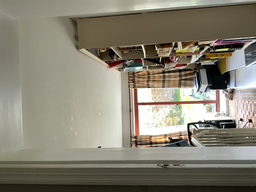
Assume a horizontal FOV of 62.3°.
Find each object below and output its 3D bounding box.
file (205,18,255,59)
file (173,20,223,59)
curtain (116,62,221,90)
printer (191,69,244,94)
[{"bbox_3d":[1.170,-0.620,2.440,0.910,0.320,0.220,0,-91,-84],"label":"file"},{"bbox_3d":[0.770,-0.620,2.470,0.780,0.390,0.230,5,-97,-84],"label":"file"},{"bbox_3d":[0.870,-0.430,4.790,0.380,2.240,0.510,-18,-74,-84],"label":"curtain"},{"bbox_3d":[1.720,-0.270,4.180,0.590,0.820,0.420,-12,-80,-84],"label":"printer"}]
